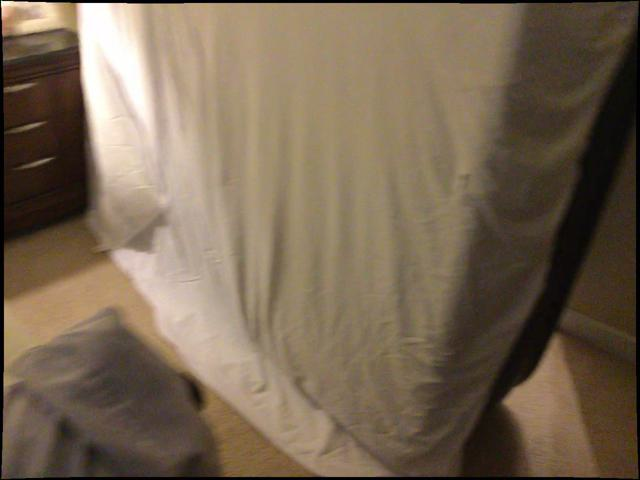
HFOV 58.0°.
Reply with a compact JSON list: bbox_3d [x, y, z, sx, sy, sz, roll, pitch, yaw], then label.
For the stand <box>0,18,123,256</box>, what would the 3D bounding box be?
[{"bbox_3d":[-1.427,-0.401,2.380,0.570,0.731,0.899,30,44,33],"label":"stand"}]
